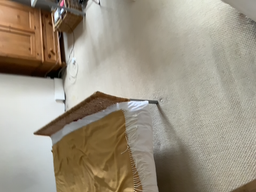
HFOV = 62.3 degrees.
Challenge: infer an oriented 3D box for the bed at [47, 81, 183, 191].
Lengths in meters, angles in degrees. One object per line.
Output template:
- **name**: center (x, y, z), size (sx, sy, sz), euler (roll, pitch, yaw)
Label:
- **bed**: center (-0.200, 1.190, 1.990), size (1.580, 0.460, 2.190), euler (-27, 66, 47)
